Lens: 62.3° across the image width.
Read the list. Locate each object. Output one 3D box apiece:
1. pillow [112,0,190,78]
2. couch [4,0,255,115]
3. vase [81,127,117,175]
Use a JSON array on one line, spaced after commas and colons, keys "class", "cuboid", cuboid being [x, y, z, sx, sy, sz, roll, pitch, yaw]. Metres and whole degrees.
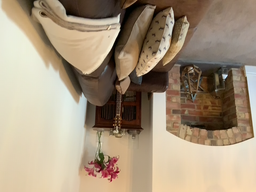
[{"class": "pillow", "cuboid": [0.140, -0.390, 1.520, 0.470, 0.190, 0.370, -35, 171, -14]}, {"class": "couch", "cuboid": [0.010, -0.520, 1.580, 1.020, 0.870, 1.890, 4, 162, -5]}, {"class": "vase", "cuboid": [-0.350, 0.700, 2.710, 0.390, 0.550, 0.320, 3, 163, -2]}]
